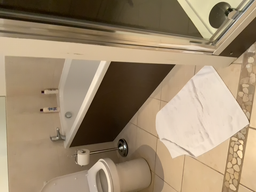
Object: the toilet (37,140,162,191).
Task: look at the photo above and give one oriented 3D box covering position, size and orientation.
[{"bbox_3d":[-0.280,0.760,1.850,0.650,0.870,0.380,-56,46,46],"label":"toilet"}]
